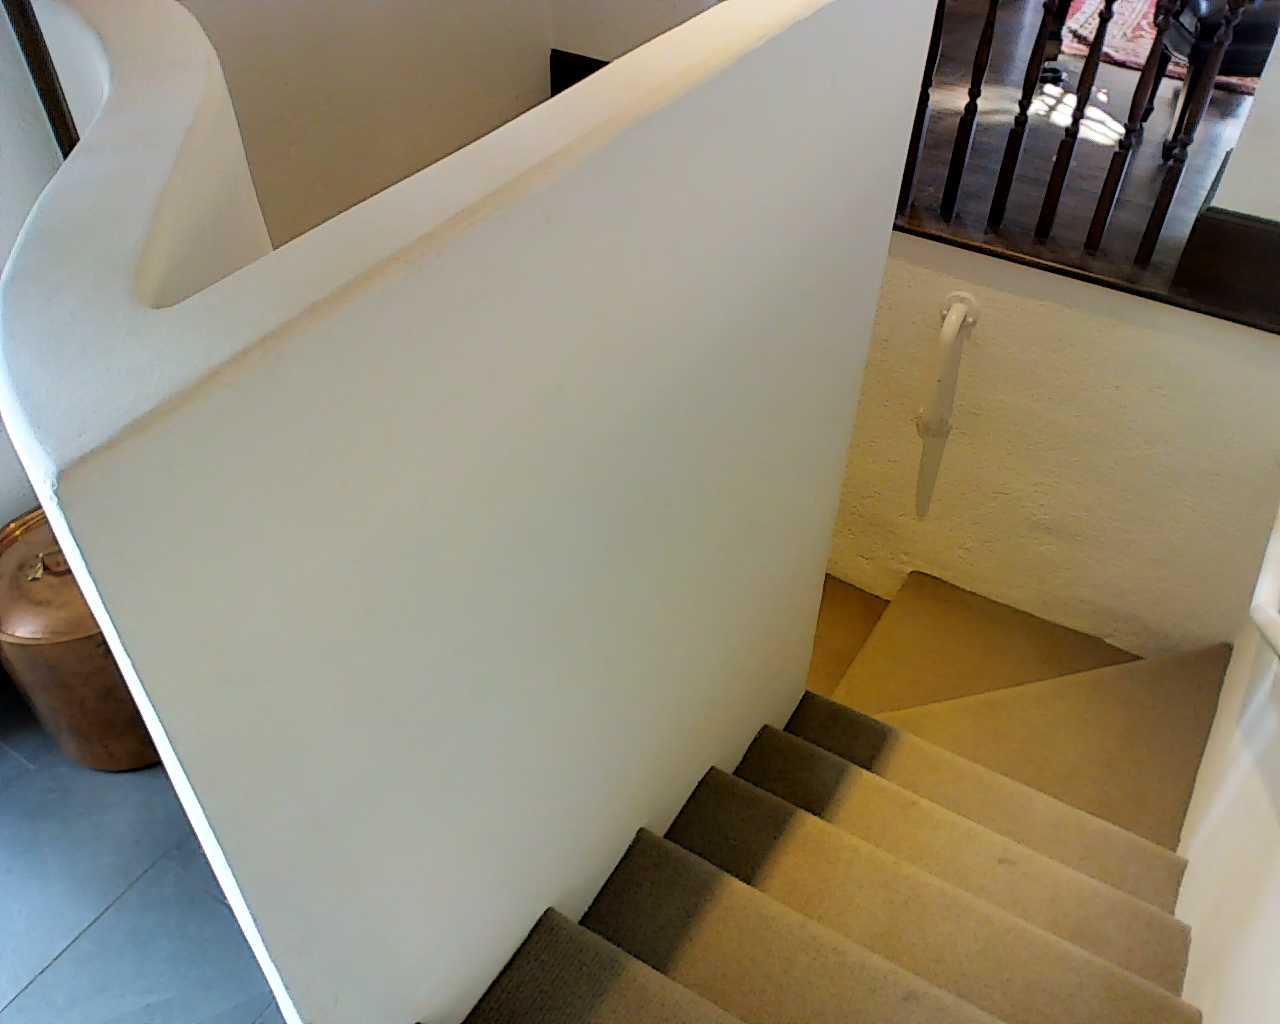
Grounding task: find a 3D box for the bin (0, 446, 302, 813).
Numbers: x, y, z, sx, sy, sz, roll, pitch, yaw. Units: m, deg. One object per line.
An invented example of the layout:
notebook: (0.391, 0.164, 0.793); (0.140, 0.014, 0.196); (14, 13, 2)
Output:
bin: (-0.850, 0.180, 1.740); (0.390, 0.350, 0.340); (19, 46, 19)
